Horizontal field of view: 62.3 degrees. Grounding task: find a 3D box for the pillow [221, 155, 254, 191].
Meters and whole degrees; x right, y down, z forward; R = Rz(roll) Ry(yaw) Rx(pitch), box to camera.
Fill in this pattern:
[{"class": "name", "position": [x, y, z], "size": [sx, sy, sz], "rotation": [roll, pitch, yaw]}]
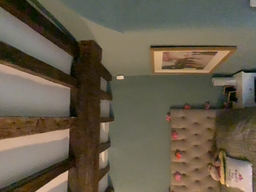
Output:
[{"class": "pillow", "position": [1.310, 0.920, 2.570], "size": [0.400, 0.210, 0.350], "rotation": [56, -145, -76]}]
